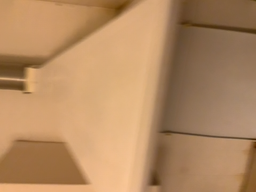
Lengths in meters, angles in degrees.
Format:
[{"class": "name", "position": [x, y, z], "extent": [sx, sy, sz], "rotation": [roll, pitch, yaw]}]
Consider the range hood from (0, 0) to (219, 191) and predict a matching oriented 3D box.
[{"class": "range hood", "position": [-0.290, 0.010, 0.650], "extent": [0.620, 0.720, 0.640], "rotation": [-115, 31, -71]}]
